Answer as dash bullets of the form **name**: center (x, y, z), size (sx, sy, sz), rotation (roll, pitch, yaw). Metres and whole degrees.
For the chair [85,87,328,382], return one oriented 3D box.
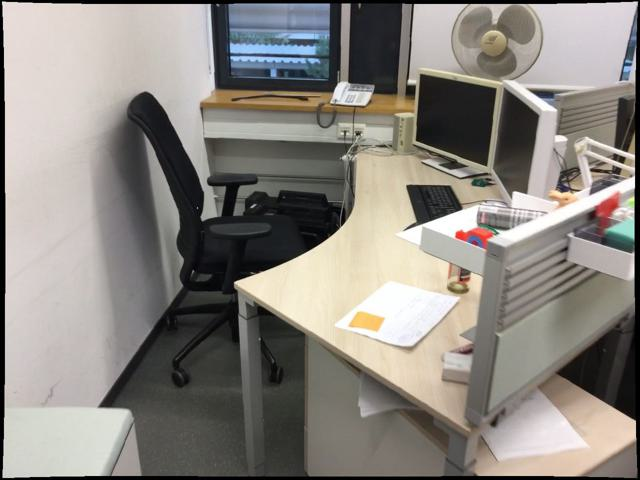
- **chair**: center (-0.380, -0.050, 2.350), size (0.739, 0.991, 0.620), rotation (4, 25, 6)

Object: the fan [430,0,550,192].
- **fan**: center (0.839, -0.761, 2.910), size (0.440, 0.951, 0.270), rotation (8, 26, 15)
